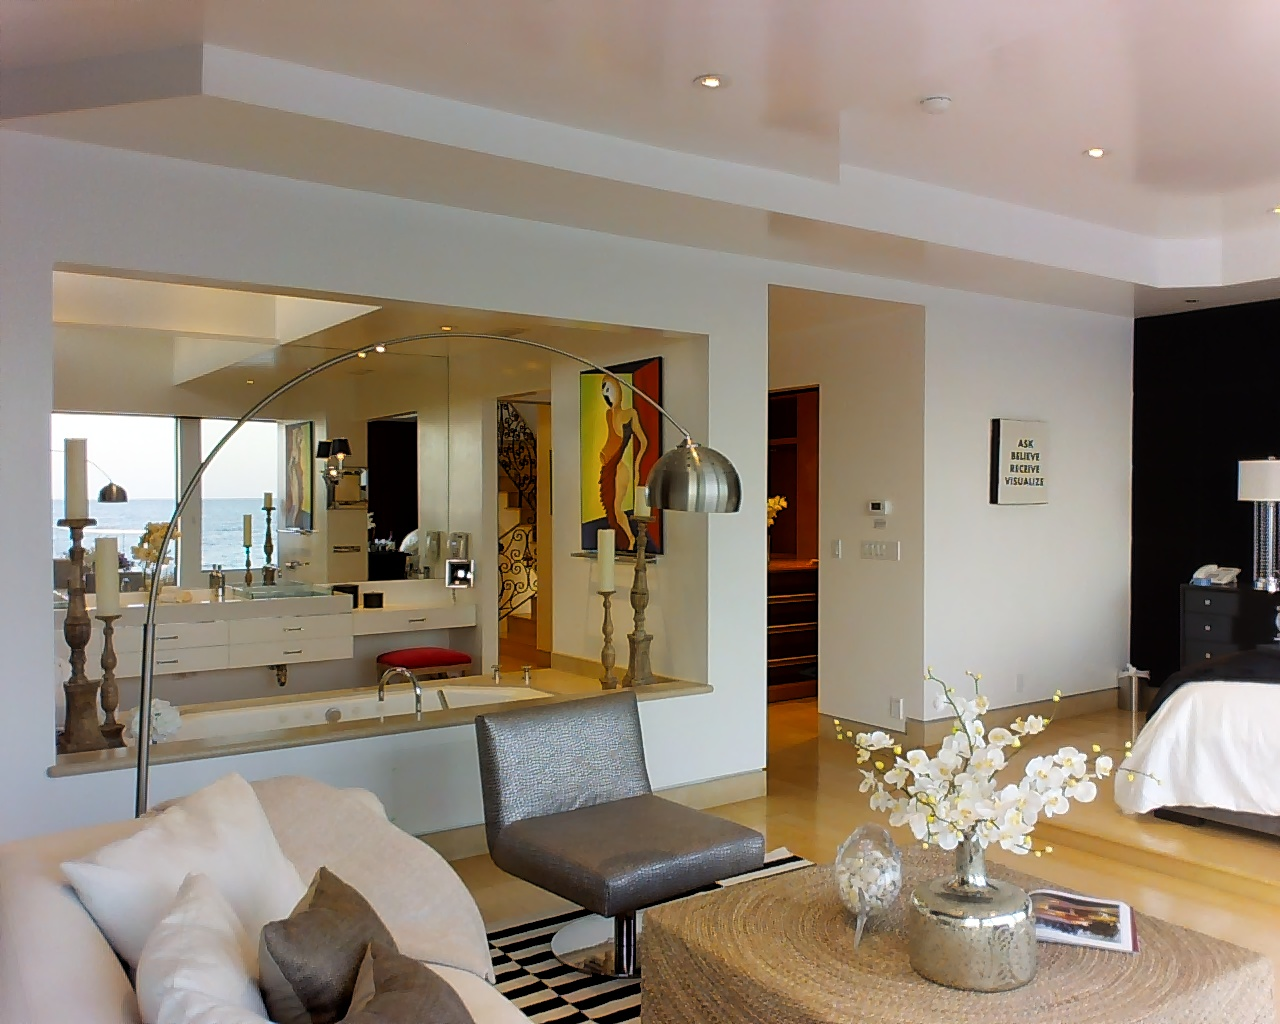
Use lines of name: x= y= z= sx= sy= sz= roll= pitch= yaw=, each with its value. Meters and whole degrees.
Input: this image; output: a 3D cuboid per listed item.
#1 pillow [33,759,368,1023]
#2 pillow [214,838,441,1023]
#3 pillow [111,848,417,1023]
pillow: x=-0.900 y=0.840 z=2.300 sx=0.450 sy=0.500 sz=0.570 roll=-2 pitch=-2 yaw=3
pillow: x=-0.580 y=0.870 z=2.010 sx=0.280 sy=0.390 sz=0.400 roll=12 pitch=-7 yaw=-2
pillow: x=-0.660 y=0.880 z=1.740 sx=0.280 sy=0.440 sz=0.810 roll=14 pitch=-7 yaw=-28
